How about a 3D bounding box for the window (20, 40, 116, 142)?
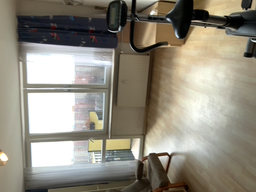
[{"bbox_3d":[-1.110,-0.040,4.070,0.220,1.610,1.870,-127,40,-67],"label":"window"}]
